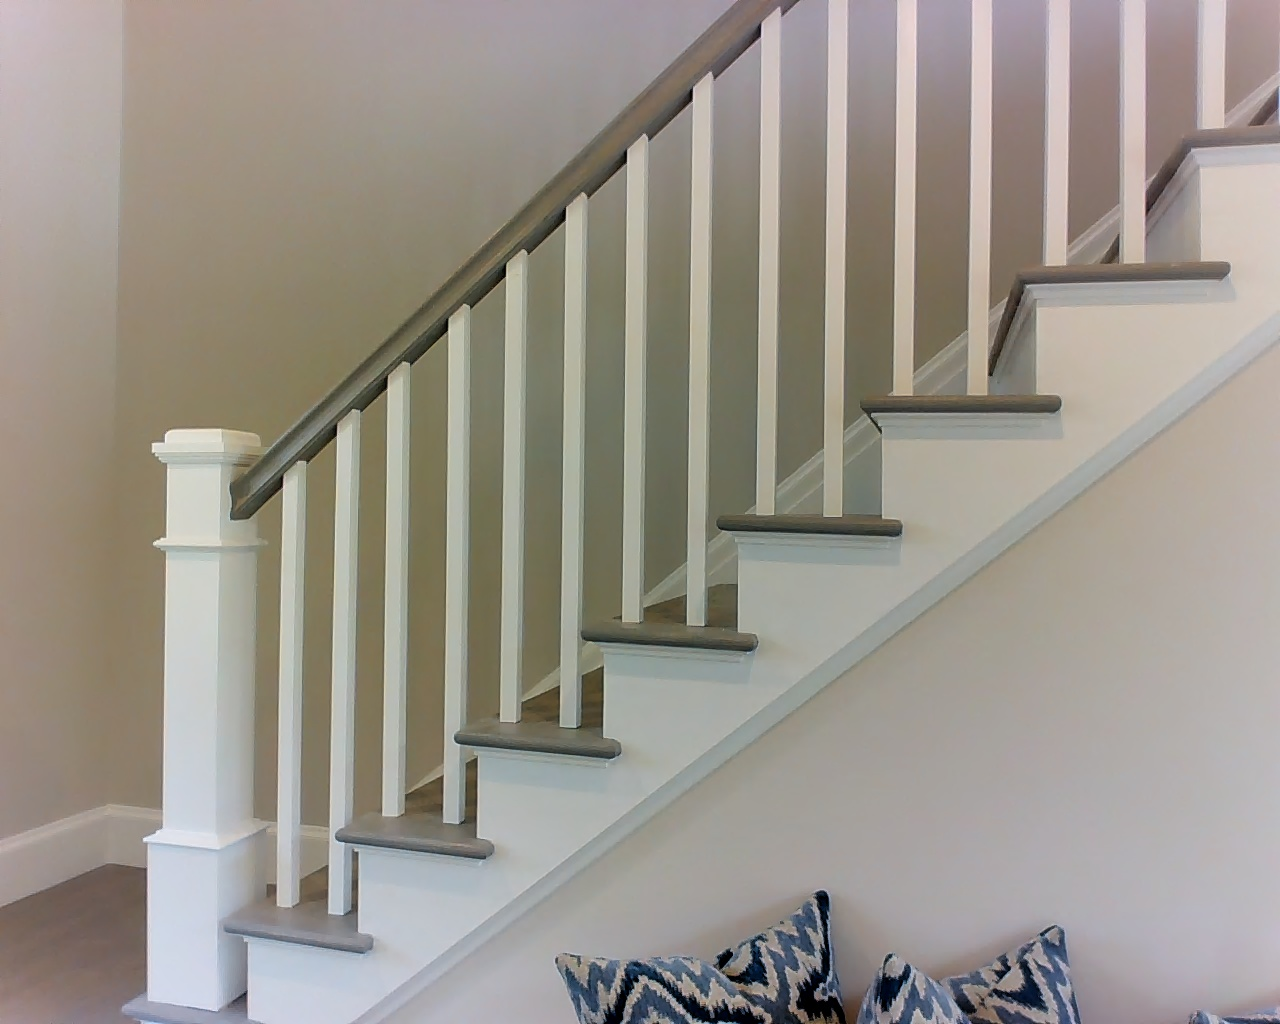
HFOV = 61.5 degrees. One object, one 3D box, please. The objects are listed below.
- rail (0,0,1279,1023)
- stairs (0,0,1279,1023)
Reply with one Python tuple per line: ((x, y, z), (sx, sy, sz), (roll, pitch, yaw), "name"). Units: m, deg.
((0.350, -0.440, 1.830), (4.200, 1.190, 0.220), (-39, -10, 12), "rail")
((0.530, -0.010, 2.270), (4.060, 0.530, 1.200), (-38, -10, 13), "stairs")
